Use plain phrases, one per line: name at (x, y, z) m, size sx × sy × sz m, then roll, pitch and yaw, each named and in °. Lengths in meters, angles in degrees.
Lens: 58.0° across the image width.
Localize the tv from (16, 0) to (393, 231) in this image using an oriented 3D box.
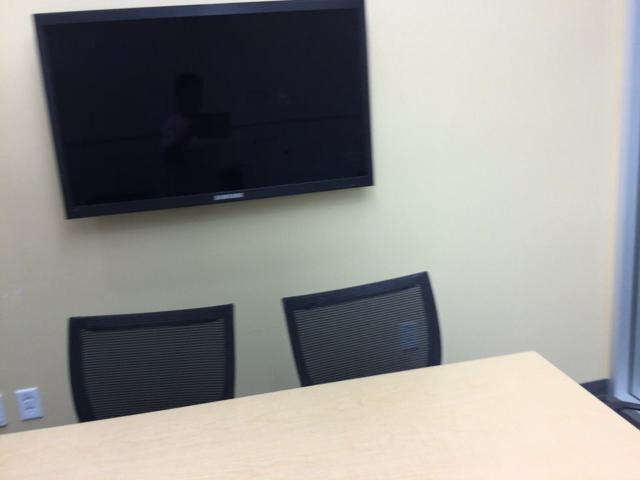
tv at (-0.340, -0.450, 1.980) m, size 1.140 × 0.690 × 0.180 m, roll -7°, pitch 10°, yaw -13°

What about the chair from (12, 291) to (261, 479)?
chair at (-0.390, 0.660, 1.470) m, size 0.440 × 0.900 × 0.550 m, roll -7°, pitch 10°, yaw -13°
